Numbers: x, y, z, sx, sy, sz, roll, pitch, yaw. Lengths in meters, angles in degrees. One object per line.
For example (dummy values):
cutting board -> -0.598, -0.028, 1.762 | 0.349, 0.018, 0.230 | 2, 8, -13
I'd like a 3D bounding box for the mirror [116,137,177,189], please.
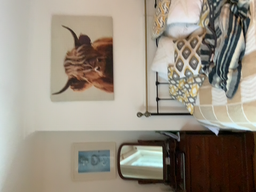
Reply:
mirror -> 0.230, 0.820, 2.630 | 0.090, 0.670, 0.480 | 132, 128, -81
